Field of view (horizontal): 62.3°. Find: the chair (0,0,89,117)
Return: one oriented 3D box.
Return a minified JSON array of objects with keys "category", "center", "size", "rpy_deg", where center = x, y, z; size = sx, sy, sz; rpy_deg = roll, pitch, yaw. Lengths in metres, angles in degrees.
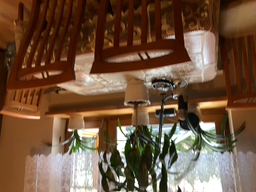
[{"category":"chair","center":[-0.700,-0.350,1.840],"size":[0.510,0.970,0.450],"rpy_deg":[-7,165,25]}]

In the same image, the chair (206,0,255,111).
[{"category":"chair","center":[0.840,-0.440,1.510],"size":[0.440,0.970,0.660],"rpy_deg":[-5,165,19]}]

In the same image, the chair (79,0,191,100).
[{"category":"chair","center":[0.070,-0.520,1.130],"size":[0.420,0.980,0.480],"rpy_deg":[-5,166,17]}]
